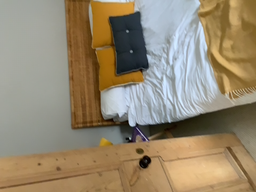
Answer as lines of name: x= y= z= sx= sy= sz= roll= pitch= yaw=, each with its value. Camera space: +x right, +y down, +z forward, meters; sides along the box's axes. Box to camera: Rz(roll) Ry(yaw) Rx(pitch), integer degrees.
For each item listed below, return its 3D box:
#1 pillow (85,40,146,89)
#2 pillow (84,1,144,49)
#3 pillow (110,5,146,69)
pillow: x=-0.110 y=-0.300 z=1.960 sx=0.140 sy=0.460 sz=0.390 roll=50 pitch=-130 yaw=-67
pillow: x=-0.130 y=-0.680 z=2.020 sx=0.150 sy=0.480 sz=0.390 roll=37 pitch=-118 yaw=-73
pillow: x=0.010 y=-0.530 z=1.870 sx=0.060 sy=0.230 sz=0.590 roll=70 pitch=-153 yaw=-72
